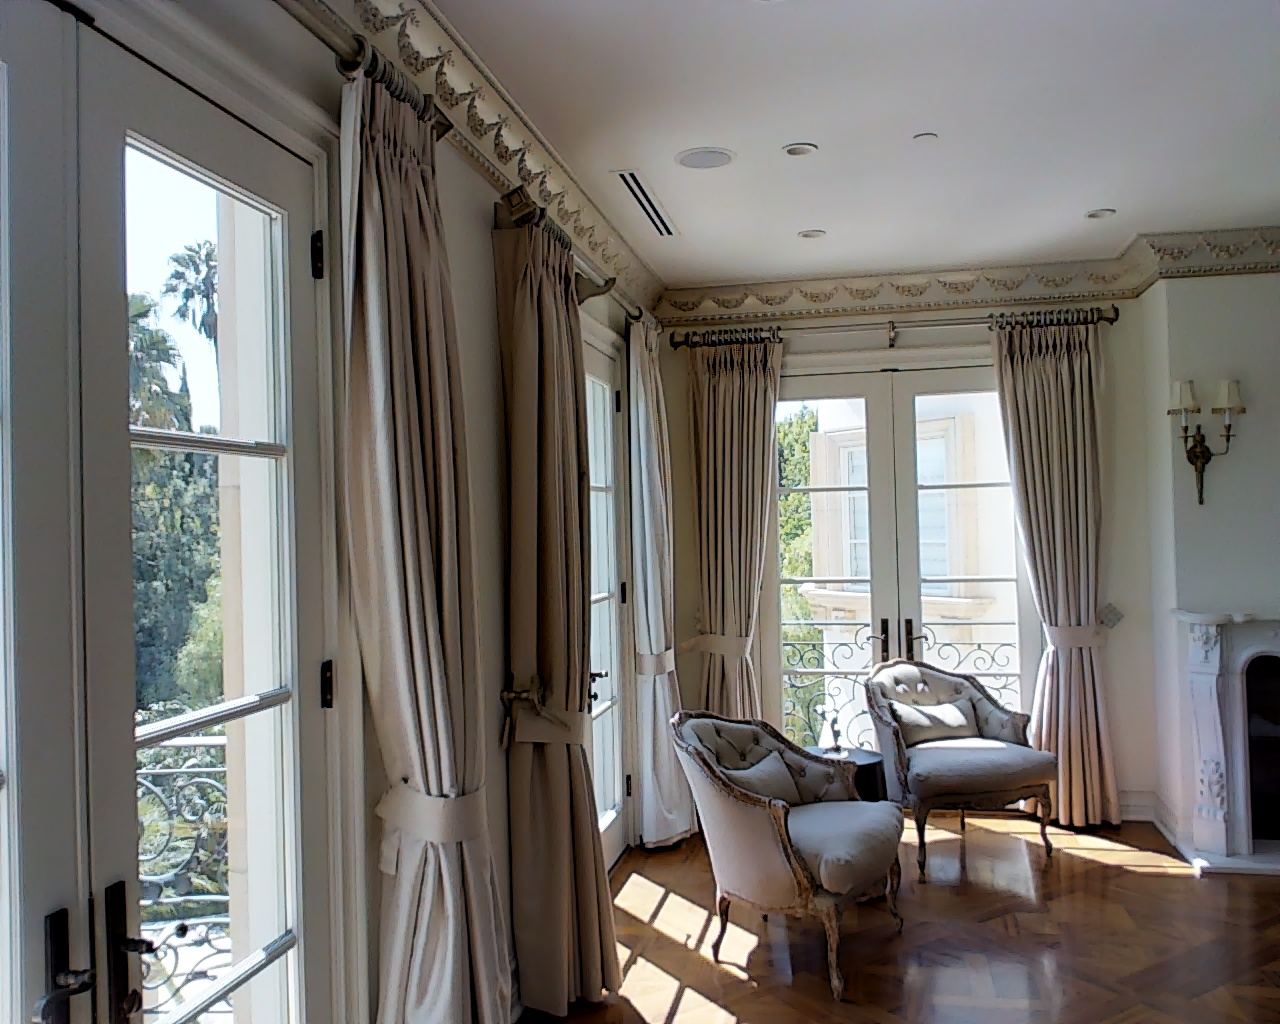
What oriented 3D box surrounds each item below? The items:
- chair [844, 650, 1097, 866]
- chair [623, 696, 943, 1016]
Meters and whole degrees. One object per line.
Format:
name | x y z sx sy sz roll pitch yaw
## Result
chair | 1.590 1.160 5.280 0.870 0.830 0.840 -1 -1 -12
chair | 0.560 1.210 4.050 0.930 0.850 0.830 -2 -1 30
